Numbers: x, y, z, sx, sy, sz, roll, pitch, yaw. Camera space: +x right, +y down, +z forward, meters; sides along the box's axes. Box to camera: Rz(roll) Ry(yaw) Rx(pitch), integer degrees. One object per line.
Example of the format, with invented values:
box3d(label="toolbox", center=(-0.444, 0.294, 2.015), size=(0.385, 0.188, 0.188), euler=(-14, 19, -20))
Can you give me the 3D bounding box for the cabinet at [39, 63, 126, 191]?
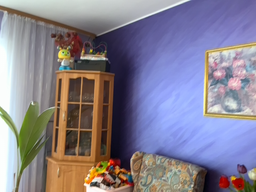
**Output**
box3d(label="cabinet", center=(-0.630, 0.630, 2.890), size=(0.760, 1.950, 0.810), euler=(5, -4, -42))
